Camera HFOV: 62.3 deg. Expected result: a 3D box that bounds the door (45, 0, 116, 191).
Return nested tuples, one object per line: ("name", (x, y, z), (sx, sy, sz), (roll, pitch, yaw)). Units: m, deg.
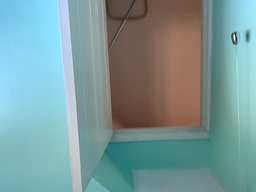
("door", (-0.200, -0.620, 1.030), (0.070, 1.930, 0.830), (-1, -171, 5))
